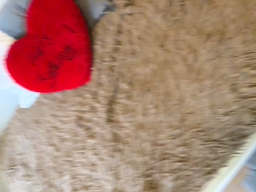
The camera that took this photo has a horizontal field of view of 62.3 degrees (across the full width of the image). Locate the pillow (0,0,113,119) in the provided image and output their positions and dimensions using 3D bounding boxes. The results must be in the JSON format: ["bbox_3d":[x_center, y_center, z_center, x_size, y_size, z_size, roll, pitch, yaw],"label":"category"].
[{"bbox_3d":[-0.340,-0.190,0.910,0.360,0.190,0.450,33,102,31],"label":"pillow"}]
